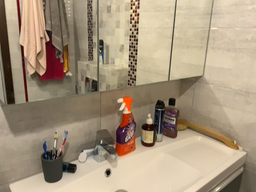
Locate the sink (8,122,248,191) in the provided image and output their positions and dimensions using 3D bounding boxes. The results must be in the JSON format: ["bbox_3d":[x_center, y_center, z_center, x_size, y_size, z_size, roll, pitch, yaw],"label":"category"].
[{"bbox_3d":[0.080,0.350,0.940,0.990,0.110,0.450,-11,21,-39],"label":"sink"}]
